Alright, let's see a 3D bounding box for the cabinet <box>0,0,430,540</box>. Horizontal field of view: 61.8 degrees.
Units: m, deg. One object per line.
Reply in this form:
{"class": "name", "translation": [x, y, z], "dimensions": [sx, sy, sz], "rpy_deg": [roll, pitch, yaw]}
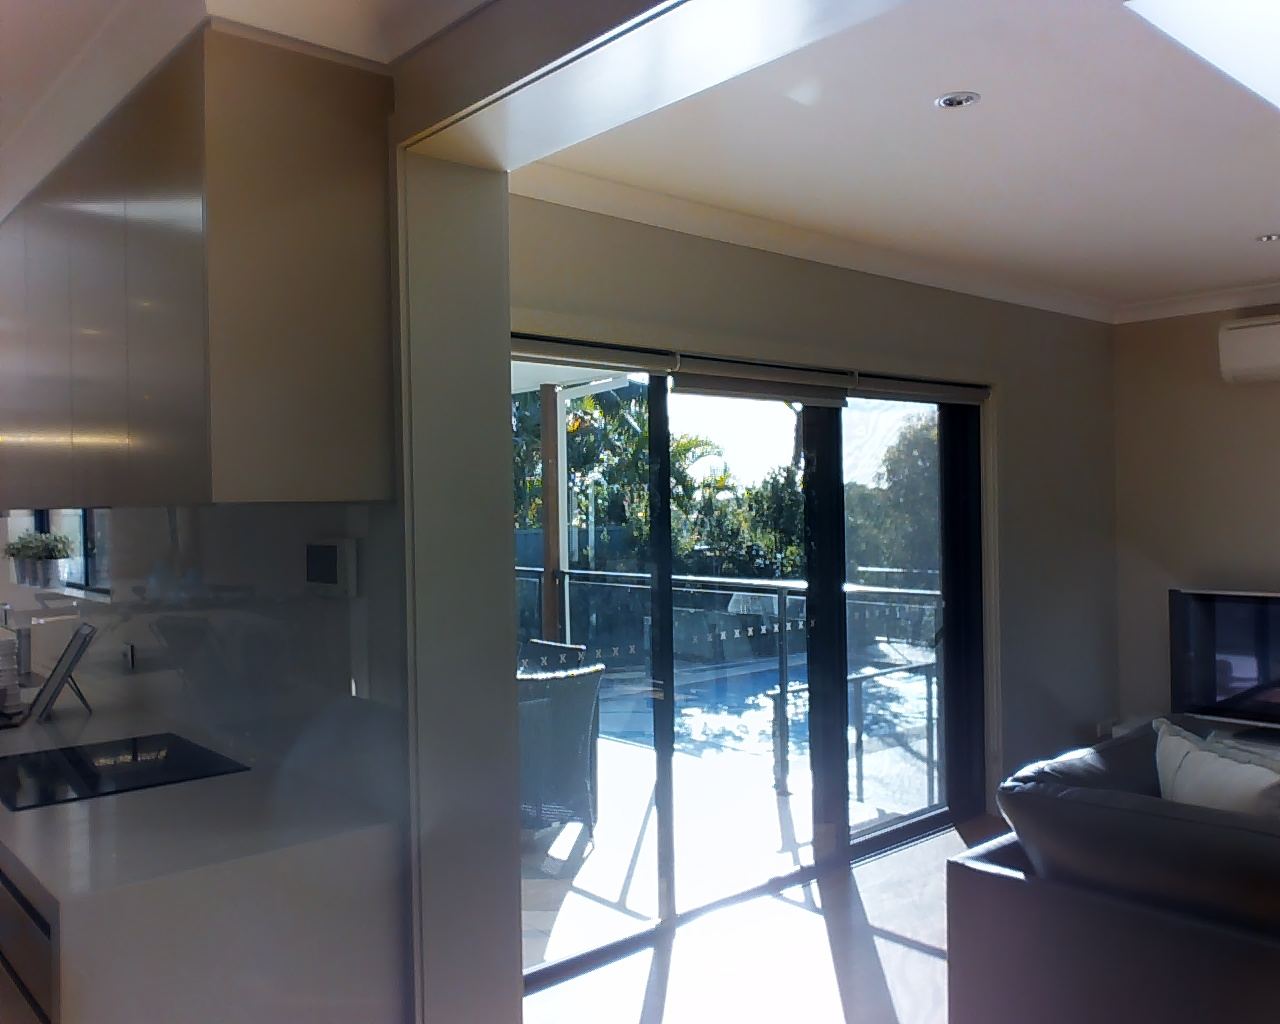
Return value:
{"class": "cabinet", "translation": [-1.280, -0.420, 2.760], "dimensions": [0.430, 0.950, 2.050], "rpy_deg": [-1, 0, -42]}
